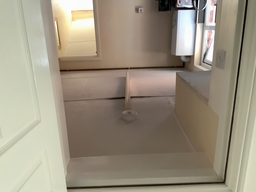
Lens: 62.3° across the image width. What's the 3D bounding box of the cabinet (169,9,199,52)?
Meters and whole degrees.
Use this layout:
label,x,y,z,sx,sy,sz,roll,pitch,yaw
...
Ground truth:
label,x,y,z,sx,sy,sz,roll,pitch,yaw
cabinet,0.960,-1.140,3.730,0.370,0.670,0.540,0,-162,5
